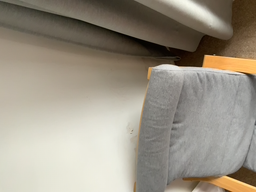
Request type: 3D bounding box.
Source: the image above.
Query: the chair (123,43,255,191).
[{"bbox_3d":[0.630,0.180,1.010,0.830,0.980,0.710,16,107,34],"label":"chair"}]
